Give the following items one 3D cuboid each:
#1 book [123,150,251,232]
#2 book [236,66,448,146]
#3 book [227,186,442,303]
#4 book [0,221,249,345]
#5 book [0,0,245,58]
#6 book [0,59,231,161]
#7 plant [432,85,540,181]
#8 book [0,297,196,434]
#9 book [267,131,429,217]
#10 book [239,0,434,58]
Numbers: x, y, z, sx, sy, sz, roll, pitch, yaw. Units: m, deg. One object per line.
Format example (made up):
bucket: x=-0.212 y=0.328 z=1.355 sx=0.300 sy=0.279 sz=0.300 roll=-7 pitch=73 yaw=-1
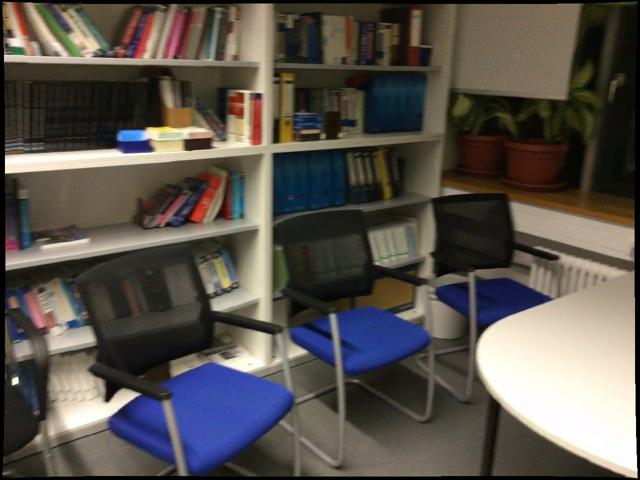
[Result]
book: x=-0.629 y=-0.250 z=2.770 sx=0.510 sy=0.280 sz=0.290 roll=-12 pitch=22 yaw=-34
book: x=0.140 y=-0.751 z=3.110 sx=1.099 sy=0.340 sz=0.420 roll=-12 pitch=22 yaw=-34
book: x=0.110 y=-0.020 z=3.240 sx=1.179 sy=0.360 sz=0.400 roll=-12 pitch=22 yaw=-34
book: x=-0.889 y=0.160 z=2.690 sx=1.099 sy=0.270 sz=0.290 roll=-12 pitch=22 yaw=-34
book: x=-0.869 y=-0.911 z=2.400 sx=1.119 sy=0.280 sz=0.260 roll=-12 pitch=22 yaw=-34
book: x=-0.889 y=-0.561 z=2.370 sx=0.939 sy=0.330 sz=0.420 roll=-12 pitch=22 yaw=-34
plant: x=0.959 y=-0.641 z=3.370 sx=0.460 sy=0.480 sz=0.350 roll=-12 pitch=22 yaw=-34
book: x=-0.989 y=0.531 z=2.610 sx=0.740 sy=0.270 sz=0.380 roll=-12 pitch=22 yaw=-34
book: x=0.180 y=-0.380 z=3.150 sx=1.009 sy=0.340 sz=0.130 roll=-12 pitch=22 yaw=-34
book: x=0.110 y=-1.141 z=3.060 sx=1.019 sy=0.320 sz=0.340 roll=-12 pitch=22 yaw=-34
